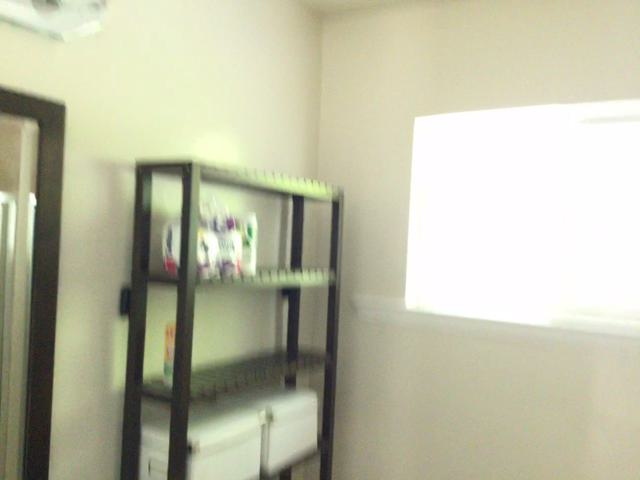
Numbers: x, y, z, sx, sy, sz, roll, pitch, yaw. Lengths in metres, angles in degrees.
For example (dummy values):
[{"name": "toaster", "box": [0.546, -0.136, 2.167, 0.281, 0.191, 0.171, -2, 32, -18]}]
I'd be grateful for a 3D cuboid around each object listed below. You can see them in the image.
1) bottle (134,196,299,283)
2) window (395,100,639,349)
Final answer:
[{"name": "bottle", "box": [-0.250, 0.010, 1.500, 0.180, 0.190, 0.420, 1, -3, 32]}, {"name": "window", "box": [0.700, -0.040, 1.690, 0.920, 0.640, 0.230, 1, -3, 31]}]
